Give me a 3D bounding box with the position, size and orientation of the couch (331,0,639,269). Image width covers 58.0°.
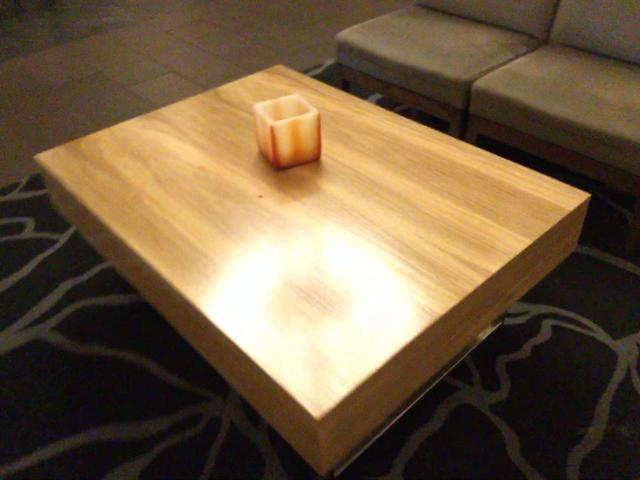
[{"bbox_3d":[0.810,-0.720,2.210,0.730,0.840,1.480,-30,46,-31],"label":"couch"}]
